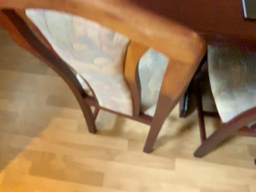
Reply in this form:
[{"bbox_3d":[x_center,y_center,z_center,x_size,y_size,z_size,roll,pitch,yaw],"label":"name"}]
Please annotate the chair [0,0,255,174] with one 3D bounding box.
[{"bbox_3d":[0.010,-0.130,0.800,0.460,0.970,0.560,18,64,9],"label":"chair"}]
